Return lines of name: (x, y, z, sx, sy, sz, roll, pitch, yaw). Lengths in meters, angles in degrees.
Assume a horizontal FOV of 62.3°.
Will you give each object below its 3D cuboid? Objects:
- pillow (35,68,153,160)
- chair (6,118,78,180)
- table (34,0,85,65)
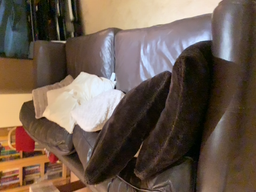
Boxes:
pillow: (-0.400, 0.030, 1.710, 1.340, 0.290, 0.360, 18, 105, 49)
chair: (-1.150, 0.670, 2.820, 0.490, 0.720, 0.470, 52, 129, 36)
table: (-0.920, -0.990, 2.800, 0.390, 0.460, 1.070, -14, 81, 51)
